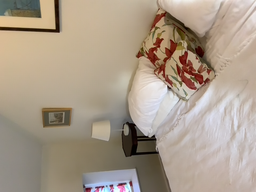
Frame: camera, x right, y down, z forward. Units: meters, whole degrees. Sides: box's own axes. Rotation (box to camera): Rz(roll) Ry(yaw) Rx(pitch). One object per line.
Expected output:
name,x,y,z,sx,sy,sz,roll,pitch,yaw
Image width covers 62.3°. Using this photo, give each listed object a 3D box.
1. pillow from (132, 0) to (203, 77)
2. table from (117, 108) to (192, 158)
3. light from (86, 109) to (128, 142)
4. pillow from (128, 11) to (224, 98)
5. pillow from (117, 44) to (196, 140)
pillow,0.300,-0.390,1.540,0.410,0.400,0.200,55,-161,-55
table,0.290,0.430,2.530,0.400,0.720,0.410,112,152,-49
light,-0.240,0.320,2.330,0.240,0.390,0.260,112,152,-48
pillow,0.310,-0.250,1.480,0.340,0.510,0.230,19,-133,-38
pillow,0.190,0.000,1.910,0.730,0.350,0.520,115,149,-52
